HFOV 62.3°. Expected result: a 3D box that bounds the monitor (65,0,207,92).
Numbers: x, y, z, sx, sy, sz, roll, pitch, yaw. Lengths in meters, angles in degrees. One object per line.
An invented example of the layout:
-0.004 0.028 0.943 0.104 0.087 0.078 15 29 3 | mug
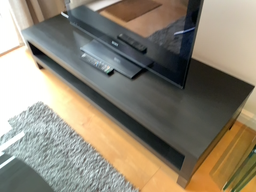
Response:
-0.070 -0.500 1.080 0.040 0.660 0.970 -37 56 -27 | monitor

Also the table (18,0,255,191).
-0.060 -0.170 1.460 1.510 0.350 0.600 35 58 29 | table
